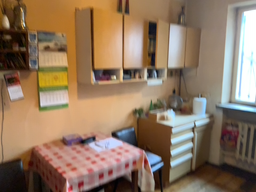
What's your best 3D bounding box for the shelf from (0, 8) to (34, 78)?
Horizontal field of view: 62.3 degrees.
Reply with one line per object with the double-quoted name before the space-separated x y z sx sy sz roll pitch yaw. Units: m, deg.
"shelf" -1.150 -0.430 1.730 0.660 0.560 0.170 -7 12 -42
